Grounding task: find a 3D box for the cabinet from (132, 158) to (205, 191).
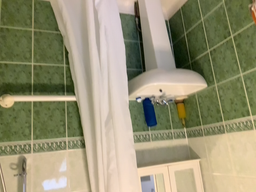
[{"bbox_3d":[0.300,0.700,1.470,0.490,0.470,0.130,0,166,-22],"label":"cabinet"}]
